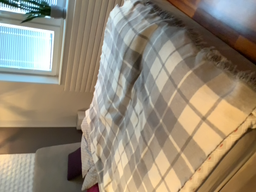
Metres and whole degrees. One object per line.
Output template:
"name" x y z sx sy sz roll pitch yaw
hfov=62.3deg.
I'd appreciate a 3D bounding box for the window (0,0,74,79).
"window" -1.460 -1.040 2.410 0.060 1.600 1.820 -113 35 -48
